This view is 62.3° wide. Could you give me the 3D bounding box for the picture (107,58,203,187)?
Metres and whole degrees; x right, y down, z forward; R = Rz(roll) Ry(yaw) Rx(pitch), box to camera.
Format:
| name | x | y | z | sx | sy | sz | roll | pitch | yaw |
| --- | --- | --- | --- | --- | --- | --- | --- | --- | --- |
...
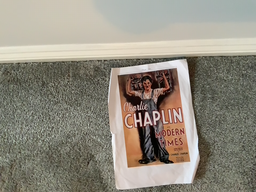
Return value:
| name | x | y | z | sx | sy | sz | roll | pitch | yaw |
| --- | --- | --- | --- | --- | --- | --- | --- | --- | --- |
| picture | 0.060 | 0.060 | 0.510 | 0.200 | 0.010 | 0.290 | -5 | 84 | 2 |
